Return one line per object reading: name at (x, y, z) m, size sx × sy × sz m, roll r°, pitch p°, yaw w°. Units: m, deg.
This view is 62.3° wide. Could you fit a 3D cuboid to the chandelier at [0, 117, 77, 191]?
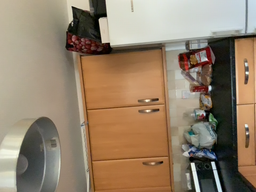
chandelier at (-0.410, 0.240, 0.650) m, size 0.360 × 0.390 × 0.290 m, roll 2°, pitch 84°, yaw -87°
